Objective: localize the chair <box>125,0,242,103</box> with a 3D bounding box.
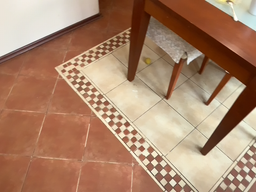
[{"bbox_3d":[0.310,-0.480,1.350,0.400,0.950,0.500,-34,64,-23],"label":"chair"}]
